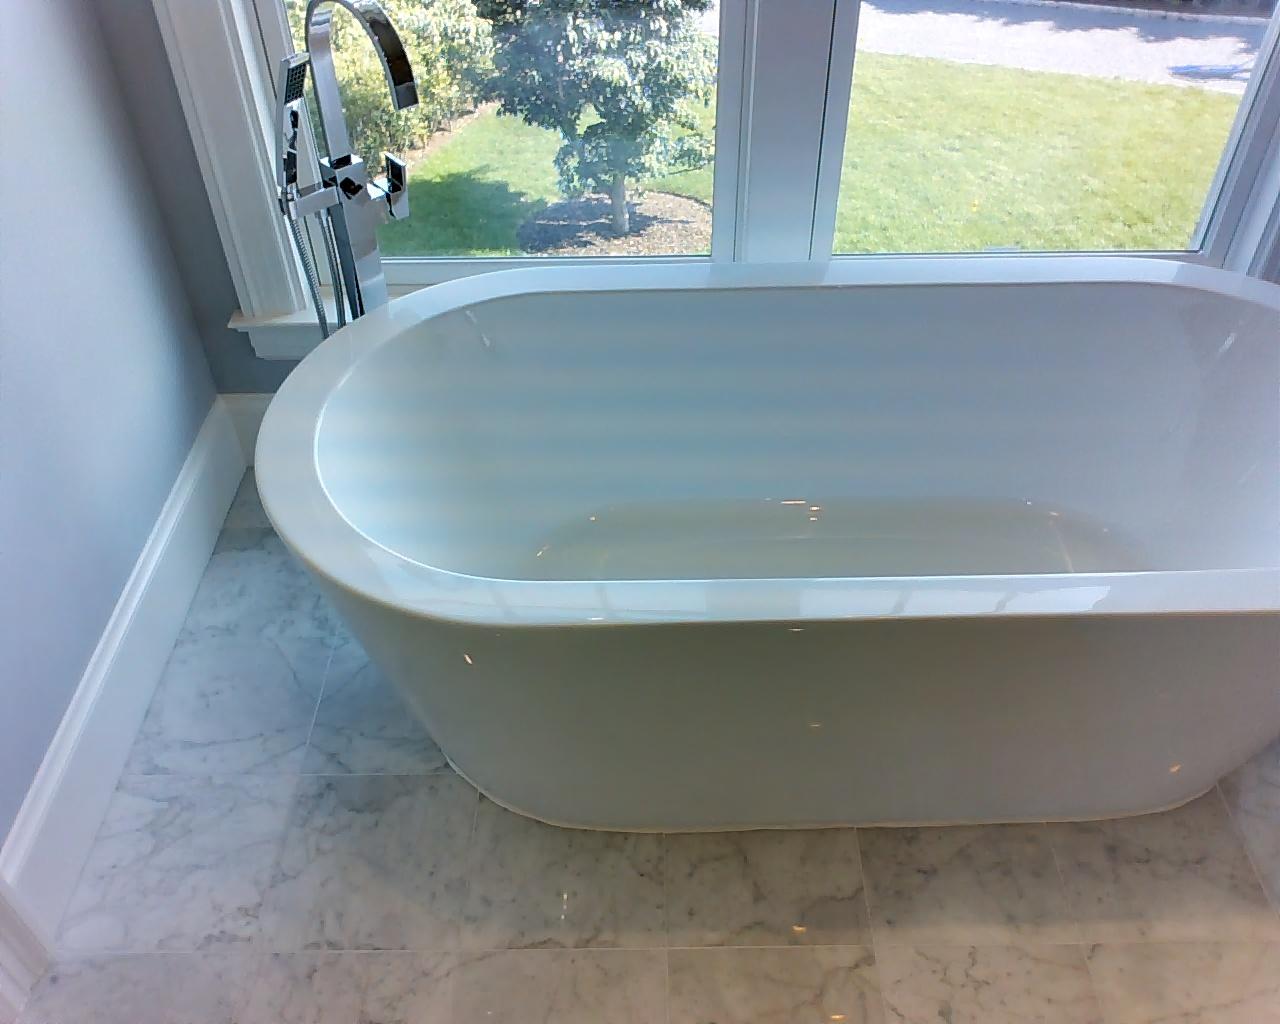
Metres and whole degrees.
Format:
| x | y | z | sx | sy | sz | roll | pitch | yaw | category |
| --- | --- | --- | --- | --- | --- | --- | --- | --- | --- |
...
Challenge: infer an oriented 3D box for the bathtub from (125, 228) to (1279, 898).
| x | y | z | sx | sy | sz | roll | pitch | yaw | category |
| --- | --- | --- | --- | --- | --- | --- | --- | --- | --- |
| 0.330 | 0.040 | 1.810 | 1.870 | 0.620 | 0.920 | -1 | 42 | -1 | bathtub |

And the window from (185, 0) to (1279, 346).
| x | y | z | sx | sy | sz | roll | pitch | yaw | category |
| --- | --- | --- | --- | --- | --- | --- | --- | --- | --- |
| 0.330 | -1.060 | 1.650 | 2.090 | 1.690 | 0.260 | -1 | 42 | -1 | window |
